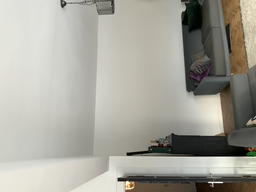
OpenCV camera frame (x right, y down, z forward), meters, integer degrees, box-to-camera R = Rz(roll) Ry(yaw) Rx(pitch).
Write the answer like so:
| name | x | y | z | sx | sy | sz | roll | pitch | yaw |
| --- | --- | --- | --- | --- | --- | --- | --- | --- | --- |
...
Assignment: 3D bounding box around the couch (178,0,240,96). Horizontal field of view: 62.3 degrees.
| name | x | y | z | sx | sy | sz | roll | pitch | yaw |
| --- | --- | --- | --- | --- | --- | --- | --- | --- | --- |
| couch | 1.570 | -1.180 | 4.420 | 1.050 | 0.750 | 2.160 | 77 | -167 | -75 |
